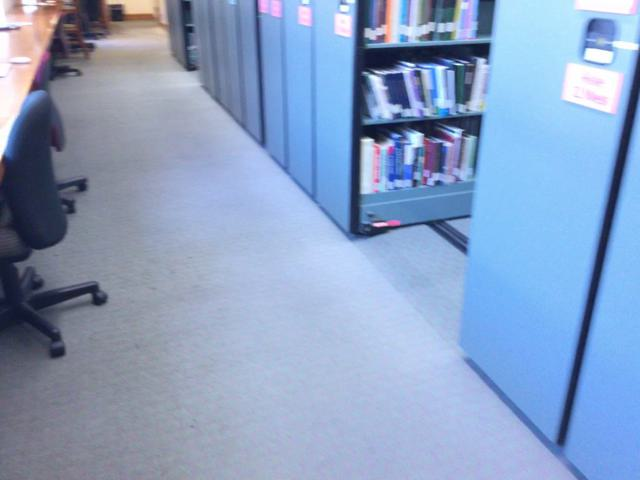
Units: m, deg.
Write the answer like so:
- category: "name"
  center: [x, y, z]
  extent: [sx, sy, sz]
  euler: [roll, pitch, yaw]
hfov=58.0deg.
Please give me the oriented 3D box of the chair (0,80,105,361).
- category: "chair"
  center: [-1.200, -0.100, 2.190]
  extent: [0.620, 0.920, 0.590]
  euler: [-6, 21, -18]

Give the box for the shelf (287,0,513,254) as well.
- category: "shelf"
  center: [0.350, -1.010, 3.060]
  extent: [0.800, 1.860, 0.990]
  euler: [-6, 21, -18]

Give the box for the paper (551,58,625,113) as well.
- category: "paper"
  center: [0.630, -0.370, 1.370]
  extent: [0.040, 0.110, 0.170]
  euler: [-6, 21, -18]
